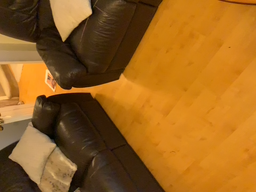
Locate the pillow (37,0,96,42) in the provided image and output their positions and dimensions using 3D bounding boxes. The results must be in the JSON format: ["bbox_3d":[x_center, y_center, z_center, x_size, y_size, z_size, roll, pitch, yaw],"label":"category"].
[{"bbox_3d":[-0.430,-0.630,1.380,0.110,0.400,0.450,-11,-3,-45],"label":"pillow"}]

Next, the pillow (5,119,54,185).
[{"bbox_3d":[-0.870,0.480,1.870,0.120,0.430,0.430,-32,36,-24],"label":"pillow"}]

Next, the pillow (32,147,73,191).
[{"bbox_3d":[-0.640,0.680,1.820,0.350,0.360,0.110,25,42,39],"label":"pillow"}]
